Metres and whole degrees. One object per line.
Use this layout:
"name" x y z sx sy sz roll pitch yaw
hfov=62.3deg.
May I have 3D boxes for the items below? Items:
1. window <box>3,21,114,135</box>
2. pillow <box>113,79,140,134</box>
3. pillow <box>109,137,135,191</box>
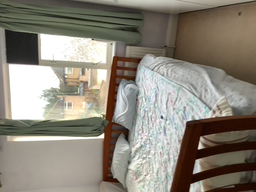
"window" -0.970 -0.190 3.100 0.090 1.420 1.570 -132 45 -68
"pillow" -0.040 0.130 2.860 0.390 0.220 0.640 -129 42 -67
"pillow" -0.100 1.000 3.120 0.420 0.240 0.640 -128 42 -66
